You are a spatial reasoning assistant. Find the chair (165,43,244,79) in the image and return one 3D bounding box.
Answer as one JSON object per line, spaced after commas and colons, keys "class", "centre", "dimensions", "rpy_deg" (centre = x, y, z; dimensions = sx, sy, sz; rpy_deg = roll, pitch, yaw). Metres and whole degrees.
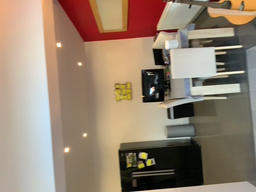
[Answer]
{"class": "chair", "centre": [1.010, -0.460, 2.930], "dimensions": [0.500, 0.890, 0.380], "rpy_deg": [-114, 19, -85]}
